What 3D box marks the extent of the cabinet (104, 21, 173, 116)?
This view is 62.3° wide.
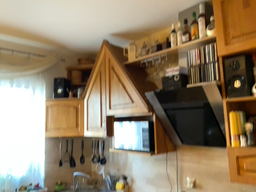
[{"bbox_3d":[0.090,-0.220,2.210,0.590,0.840,0.380,-7,-9,44],"label":"cabinet"}]

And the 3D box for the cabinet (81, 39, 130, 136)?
[{"bbox_3d":[-0.280,-0.070,2.560,0.450,1.050,0.360,-7,-9,44],"label":"cabinet"}]
